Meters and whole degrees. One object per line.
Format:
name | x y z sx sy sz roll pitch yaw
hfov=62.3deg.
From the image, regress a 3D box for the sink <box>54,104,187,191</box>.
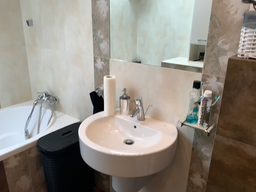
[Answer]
sink | -0.040 0.260 1.260 0.600 0.160 0.490 16 24 35
